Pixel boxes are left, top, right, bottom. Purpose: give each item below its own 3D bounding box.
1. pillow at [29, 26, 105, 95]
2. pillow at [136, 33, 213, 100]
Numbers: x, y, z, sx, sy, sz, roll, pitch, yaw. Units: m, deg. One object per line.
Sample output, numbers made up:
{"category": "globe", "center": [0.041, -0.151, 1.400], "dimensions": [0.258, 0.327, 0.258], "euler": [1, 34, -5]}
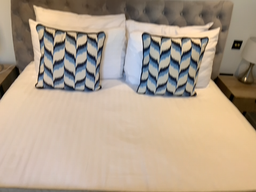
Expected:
{"category": "pillow", "center": [-0.390, -0.240, 1.420], "dimensions": [0.440, 0.390, 0.210], "euler": [4, 16, -5]}
{"category": "pillow", "center": [0.300, -0.210, 1.490], "dimensions": [0.440, 0.400, 0.190], "euler": [4, 19, -5]}
